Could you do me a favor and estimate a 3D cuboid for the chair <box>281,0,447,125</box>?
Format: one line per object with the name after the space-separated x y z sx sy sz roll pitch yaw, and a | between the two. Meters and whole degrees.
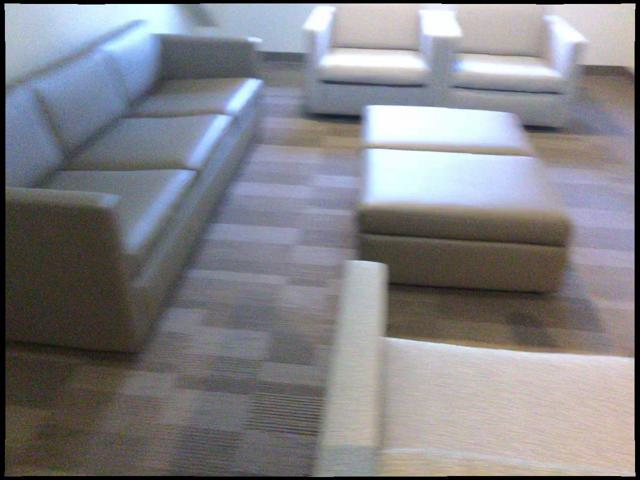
0.289 -1.353 4.090 1.008 0.721 0.951 3 32 3 | chair

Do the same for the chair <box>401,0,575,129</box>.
1.098 -1.323 4.080 0.938 0.741 0.901 3 32 3 | chair

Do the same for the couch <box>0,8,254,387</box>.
-0.968 -0.461 2.660 0.908 0.711 2.291 3 32 3 | couch
